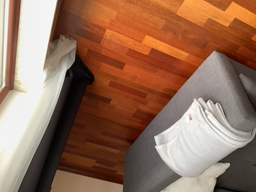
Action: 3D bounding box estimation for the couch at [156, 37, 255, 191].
[{"bbox_3d":[0.770,0.200,1.560,0.840,0.700,0.700,20,132,-16],"label":"couch"}]
